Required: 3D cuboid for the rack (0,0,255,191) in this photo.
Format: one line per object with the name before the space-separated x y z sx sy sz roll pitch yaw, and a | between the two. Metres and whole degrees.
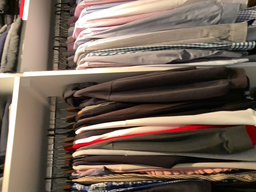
rack | 0.530 -0.410 1.130 0.520 2.020 2.220 99 169 -72
